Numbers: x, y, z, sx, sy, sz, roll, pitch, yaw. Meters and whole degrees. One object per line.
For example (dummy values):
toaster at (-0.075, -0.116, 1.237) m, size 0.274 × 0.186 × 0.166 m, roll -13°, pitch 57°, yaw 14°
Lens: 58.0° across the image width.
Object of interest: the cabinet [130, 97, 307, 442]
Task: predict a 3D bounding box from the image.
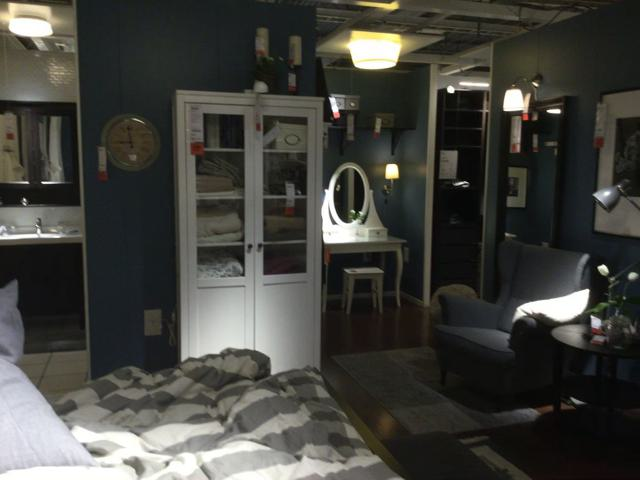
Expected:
cabinet at (-0.620, 0.160, 3.600) m, size 0.980 × 1.970 × 0.480 m, roll -2°, pitch 8°, yaw -15°
